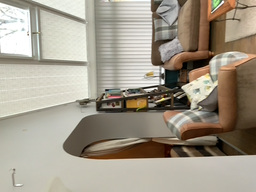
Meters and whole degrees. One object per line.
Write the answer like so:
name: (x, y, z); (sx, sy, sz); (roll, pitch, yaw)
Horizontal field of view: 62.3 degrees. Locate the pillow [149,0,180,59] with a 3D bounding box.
pillow: (0.640, -1.380, 3.820); (0.540, 0.450, 1.370); (-113, 22, -82)
